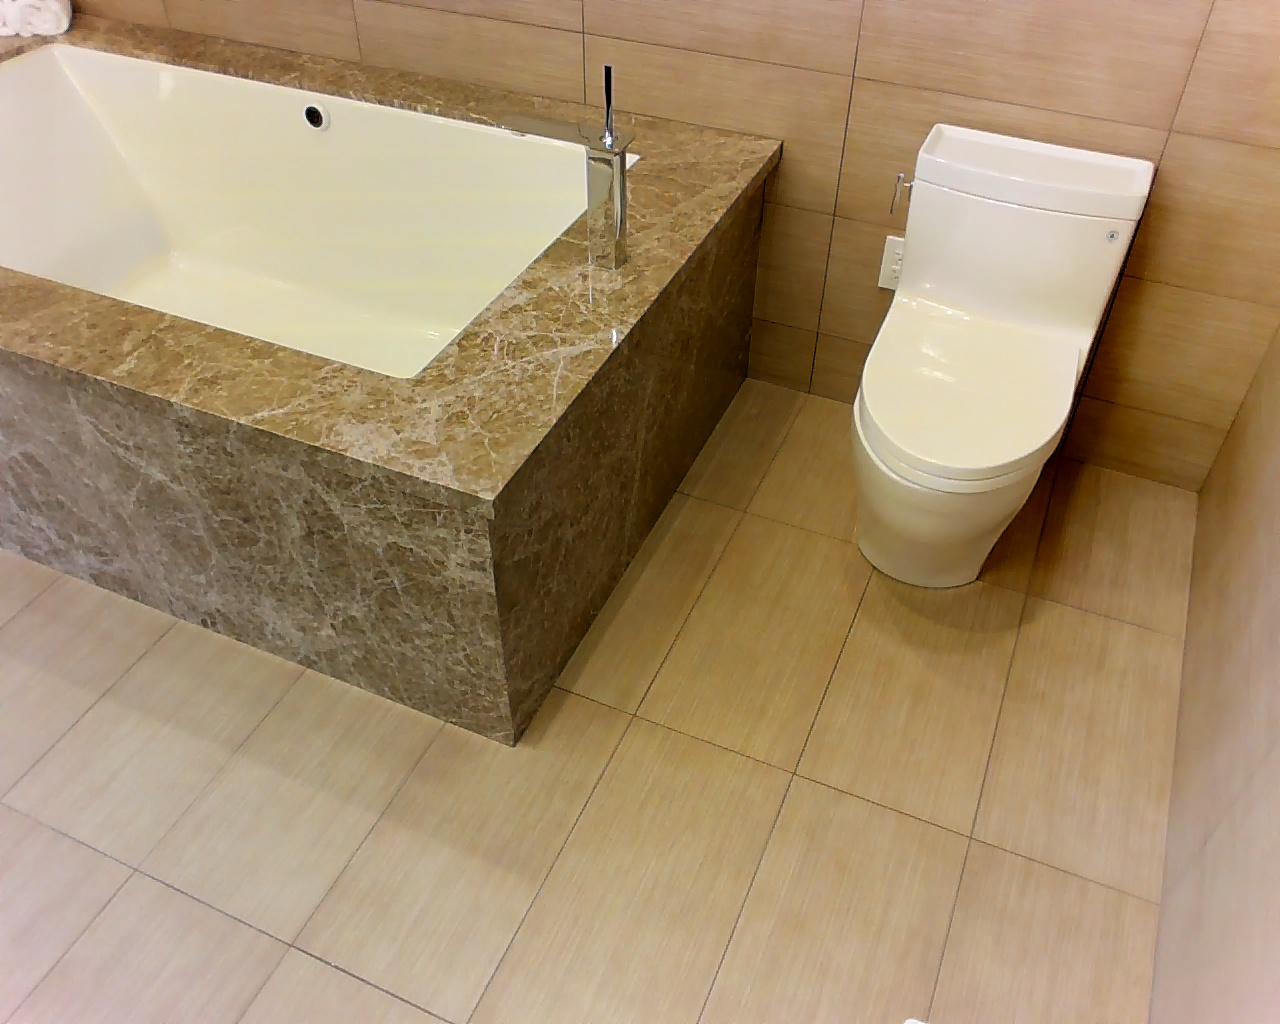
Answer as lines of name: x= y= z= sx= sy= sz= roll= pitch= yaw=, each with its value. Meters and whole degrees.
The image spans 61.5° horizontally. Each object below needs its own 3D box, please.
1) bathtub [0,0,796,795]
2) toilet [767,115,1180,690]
bathtub: x=-1.010 y=-0.470 z=2.370 sx=2.360 sy=0.650 sz=1.240 roll=17 pitch=44 yaw=17
toilet: x=0.620 y=-0.230 z=2.030 sx=0.480 sy=0.700 sz=0.740 roll=17 pitch=44 yaw=17
